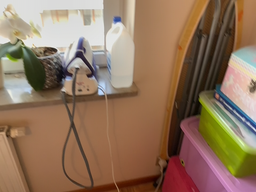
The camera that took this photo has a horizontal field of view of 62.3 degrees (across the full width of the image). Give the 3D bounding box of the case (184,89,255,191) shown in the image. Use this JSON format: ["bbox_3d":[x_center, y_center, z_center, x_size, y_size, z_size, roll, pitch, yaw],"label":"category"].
[{"bbox_3d":[0.570,0.190,1.060,0.360,0.210,0.470,-6,34,-14],"label":"case"}]

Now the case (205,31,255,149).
[{"bbox_3d":[0.630,-0.040,0.950,0.270,0.360,0.480,-5,33,-11],"label":"case"}]
